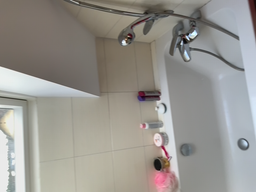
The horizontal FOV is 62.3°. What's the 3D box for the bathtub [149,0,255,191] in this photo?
[{"bbox_3d":[0.720,0.580,1.340,0.800,0.600,2.220,-19,74,61],"label":"bathtub"}]
